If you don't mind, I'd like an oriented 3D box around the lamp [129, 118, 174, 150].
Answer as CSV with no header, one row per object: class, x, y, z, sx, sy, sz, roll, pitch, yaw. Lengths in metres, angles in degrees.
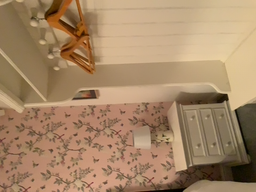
lamp,0.240,0.420,2.300,0.280,0.410,0.270,99,167,-69
